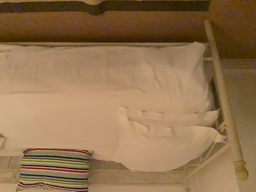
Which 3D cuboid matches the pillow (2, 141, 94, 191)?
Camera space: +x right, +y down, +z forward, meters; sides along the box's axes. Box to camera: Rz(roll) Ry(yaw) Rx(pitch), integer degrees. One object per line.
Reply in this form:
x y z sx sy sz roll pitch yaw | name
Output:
-0.580 0.550 1.640 0.590 0.320 0.150 -5 127 -1 | pillow
